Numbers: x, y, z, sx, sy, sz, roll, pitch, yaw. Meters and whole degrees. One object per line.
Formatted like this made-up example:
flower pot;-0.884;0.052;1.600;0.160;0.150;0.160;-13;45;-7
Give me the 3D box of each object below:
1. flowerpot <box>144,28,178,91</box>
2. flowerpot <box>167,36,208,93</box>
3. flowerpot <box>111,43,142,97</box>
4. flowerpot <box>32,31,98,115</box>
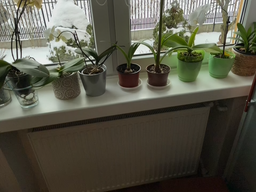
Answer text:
flowerpot;0.160;-0.190;1.110;0.130;0.280;0.160;-5;32;-4
flowerpot;0.320;-0.180;1.190;0.140;0.250;0.190;-5;32;-5
flowerpot;-0.010;-0.140;1.120;0.140;0.220;0.170;-4;32;-3
flowerpot;-0.280;-0.110;1.040;0.230;0.350;0.180;-5;32;-5
